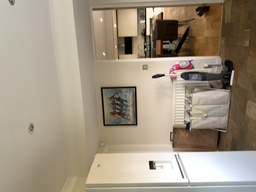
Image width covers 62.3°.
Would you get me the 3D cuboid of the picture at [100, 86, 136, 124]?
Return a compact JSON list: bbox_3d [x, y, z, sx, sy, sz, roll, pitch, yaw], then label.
[{"bbox_3d":[-0.160,0.160,3.630,0.040,0.590,0.670,-84,-7,-75],"label":"picture"}]
